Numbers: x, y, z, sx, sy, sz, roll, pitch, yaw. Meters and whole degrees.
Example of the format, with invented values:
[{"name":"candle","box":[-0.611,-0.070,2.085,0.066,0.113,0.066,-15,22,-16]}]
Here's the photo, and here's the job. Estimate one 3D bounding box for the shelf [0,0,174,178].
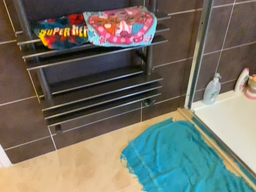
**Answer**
[{"name":"shelf","box":[-0.140,-0.250,0.920,0.610,1.470,0.220,-15,40,-17]}]
